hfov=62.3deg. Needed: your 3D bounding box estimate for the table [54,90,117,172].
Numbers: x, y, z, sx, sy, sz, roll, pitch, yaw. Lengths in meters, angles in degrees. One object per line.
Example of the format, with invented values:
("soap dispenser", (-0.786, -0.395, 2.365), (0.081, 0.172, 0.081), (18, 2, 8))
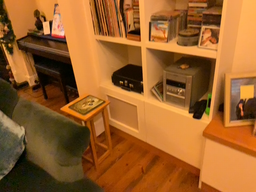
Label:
("table", (-0.330, 0.280, 1.760), (0.300, 0.530, 0.300), (19, 38, 35))
